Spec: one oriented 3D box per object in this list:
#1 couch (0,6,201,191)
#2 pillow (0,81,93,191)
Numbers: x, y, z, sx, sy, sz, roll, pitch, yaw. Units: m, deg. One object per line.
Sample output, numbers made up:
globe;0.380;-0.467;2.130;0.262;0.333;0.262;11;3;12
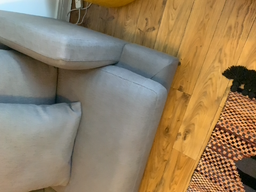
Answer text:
couch;-0.530;0.710;1.450;1.070;0.820;2.290;25;112;26
pillow;-0.520;0.280;1.130;0.170;0.530;0.570;23;88;29
